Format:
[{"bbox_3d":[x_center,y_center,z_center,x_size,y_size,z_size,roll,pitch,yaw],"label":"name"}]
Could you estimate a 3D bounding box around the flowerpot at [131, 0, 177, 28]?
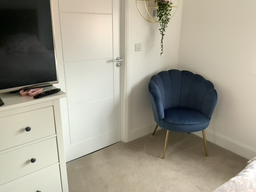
[{"bbox_3d":[0.290,-1.020,2.310,0.450,0.530,0.220,-11,23,-32],"label":"flowerpot"}]
